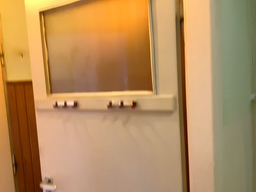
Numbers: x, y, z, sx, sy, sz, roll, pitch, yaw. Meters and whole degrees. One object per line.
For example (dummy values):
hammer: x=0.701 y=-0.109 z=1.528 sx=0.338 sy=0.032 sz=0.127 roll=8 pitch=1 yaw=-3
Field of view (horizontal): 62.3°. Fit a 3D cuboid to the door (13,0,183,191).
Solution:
door: x=-0.130 y=0.460 z=0.940 sx=0.730 sy=2.040 sz=0.070 roll=-1 pitch=6 yaw=24
